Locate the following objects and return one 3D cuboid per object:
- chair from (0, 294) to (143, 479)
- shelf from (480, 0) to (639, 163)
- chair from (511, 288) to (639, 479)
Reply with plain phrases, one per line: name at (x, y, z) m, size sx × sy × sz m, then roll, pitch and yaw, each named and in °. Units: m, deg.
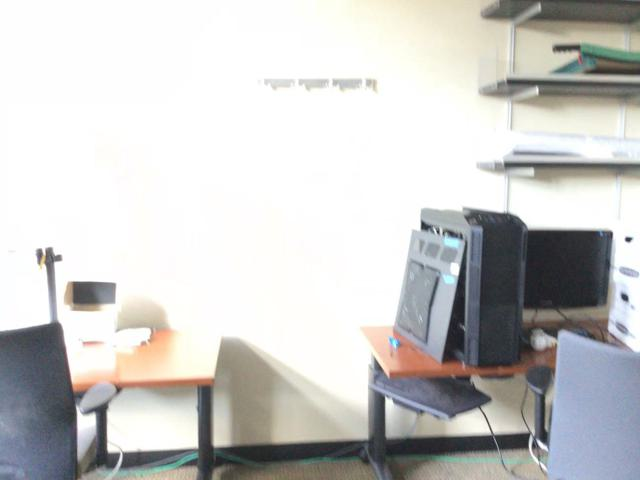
chair at (-1.020, 0.740, 1.920) m, size 0.700 × 1.020 × 0.630 m, roll 0°, pitch 3°, yaw -5°
shelf at (1.230, -0.750, 2.540) m, size 0.900 × 0.780 × 0.460 m, roll 0°, pitch 3°, yaw -5°
chair at (1.040, 0.720, 1.990) m, size 0.680 × 0.970 × 0.860 m, roll 1°, pitch 4°, yaw 16°
